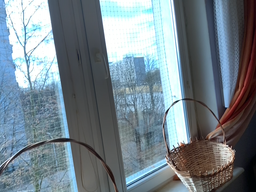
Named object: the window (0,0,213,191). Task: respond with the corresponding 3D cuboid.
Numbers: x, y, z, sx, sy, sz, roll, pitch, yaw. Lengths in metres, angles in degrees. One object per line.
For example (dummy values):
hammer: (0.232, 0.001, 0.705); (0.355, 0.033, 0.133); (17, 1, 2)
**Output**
window: (-0.400, -0.180, 0.760); (2.360, 1.740, 0.150); (-11, 6, -42)
